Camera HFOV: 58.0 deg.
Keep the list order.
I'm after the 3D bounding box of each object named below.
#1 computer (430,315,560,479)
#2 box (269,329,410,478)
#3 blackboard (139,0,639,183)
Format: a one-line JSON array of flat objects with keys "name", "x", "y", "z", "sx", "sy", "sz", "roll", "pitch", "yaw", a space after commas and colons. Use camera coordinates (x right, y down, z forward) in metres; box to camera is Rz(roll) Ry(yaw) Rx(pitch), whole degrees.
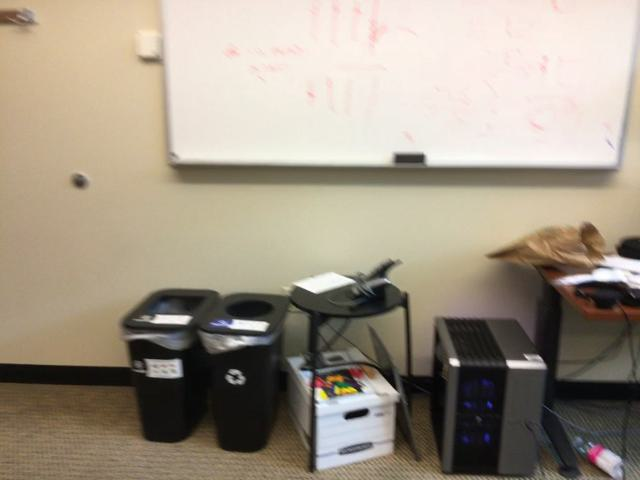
[{"name": "computer", "x": 0.630, "y": 0.580, "z": 2.190, "sx": 0.370, "sy": 0.480, "sz": 0.470, "roll": 0, "pitch": 8, "yaw": 5}, {"name": "box", "x": 0.090, "y": 0.620, "z": 2.310, "sx": 0.490, "sy": 0.370, "sz": 0.550, "roll": 0, "pitch": 8, "yaw": 5}, {"name": "blackboard", "x": 0.250, "y": -0.870, "z": 2.150, "sx": 1.810, "sy": 1.280, "sz": 0.230, "roll": 0, "pitch": 8, "yaw": 5}]
